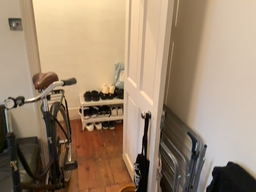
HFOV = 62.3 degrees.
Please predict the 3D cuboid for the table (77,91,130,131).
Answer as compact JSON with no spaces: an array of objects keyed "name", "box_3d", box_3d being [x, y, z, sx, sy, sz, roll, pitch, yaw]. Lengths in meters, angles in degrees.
[{"name":"table","box_3d":[-0.340,0.190,2.900,0.650,0.400,0.310,-5,24,-17]}]
